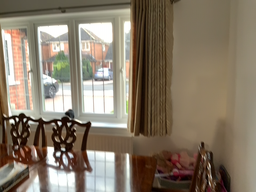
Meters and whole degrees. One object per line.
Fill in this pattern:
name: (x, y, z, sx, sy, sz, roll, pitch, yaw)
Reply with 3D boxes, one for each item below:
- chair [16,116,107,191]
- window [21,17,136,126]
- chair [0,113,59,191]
chair: (-0.510, 0.710, 1.810, 0.490, 0.960, 0.520, 1, 9, 15)
window: (-0.670, -0.300, 2.850, 1.530, 1.330, 0.150, 1, 9, 14)
chair: (-1.020, 0.700, 1.940, 0.500, 0.970, 0.510, 1, 9, 15)
